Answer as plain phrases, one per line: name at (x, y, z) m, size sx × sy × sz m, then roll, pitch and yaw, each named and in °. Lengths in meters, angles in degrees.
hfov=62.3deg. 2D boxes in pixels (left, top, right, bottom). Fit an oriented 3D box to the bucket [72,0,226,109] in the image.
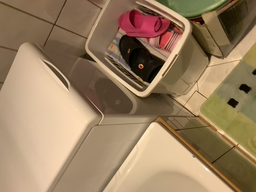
bucket at (0.120, -0.240, 1.070) m, size 0.500 × 0.500 × 0.360 m, roll 44°, pitch 109°, yaw 28°
